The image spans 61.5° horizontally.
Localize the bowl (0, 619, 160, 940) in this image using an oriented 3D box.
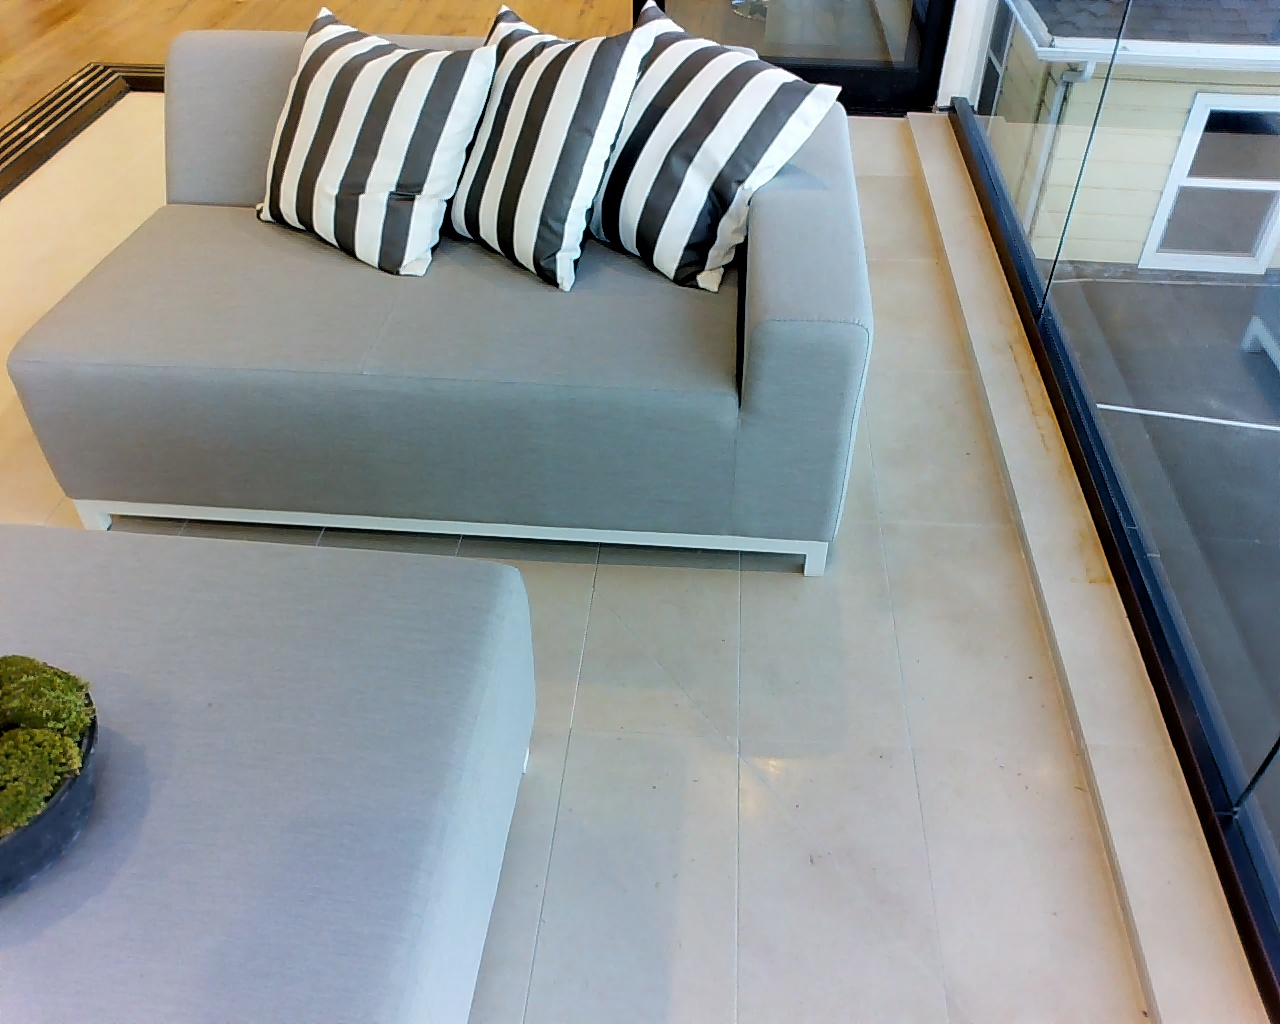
[{"bbox_3d":[-0.780,0.280,1.210,0.310,0.160,0.290,7,42,7],"label":"bowl"}]
